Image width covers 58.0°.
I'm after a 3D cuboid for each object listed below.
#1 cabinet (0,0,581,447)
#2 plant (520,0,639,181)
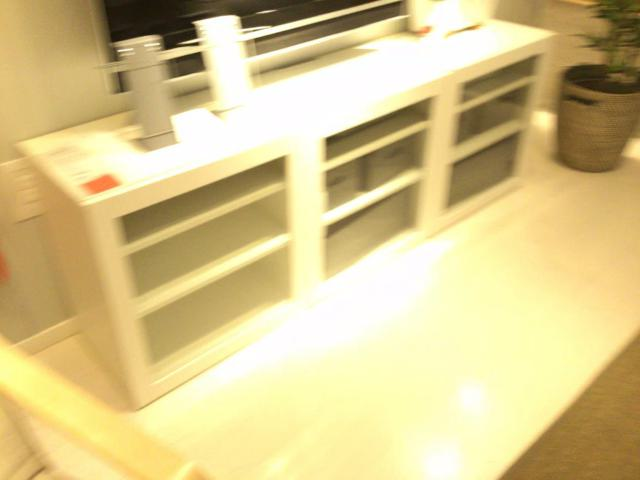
[{"bbox_3d":[0.090,-0.240,1.940,1.850,0.720,0.500,-29,40,-29],"label":"cabinet"},{"bbox_3d":[1.190,-0.640,2.450,0.460,0.570,0.420,-13,34,-8],"label":"plant"}]
